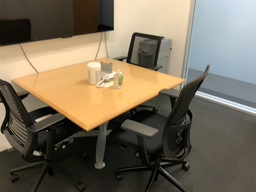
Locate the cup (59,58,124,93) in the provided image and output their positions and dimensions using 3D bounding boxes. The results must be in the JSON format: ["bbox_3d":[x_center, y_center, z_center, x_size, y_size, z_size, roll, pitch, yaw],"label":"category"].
[{"bbox_3d":[-0.340,-0.220,2.060,0.380,0.140,0.490,21,33,36],"label":"cup"}]

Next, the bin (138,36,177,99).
[{"bbox_3d":[0.480,-0.480,3.480,0.290,0.880,0.570,23,34,38],"label":"bin"}]

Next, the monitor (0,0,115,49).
[{"bbox_3d":[-0.640,-0.970,2.100,0.070,0.780,1.340,23,33,38],"label":"monitor"}]
